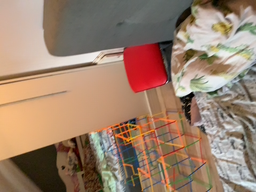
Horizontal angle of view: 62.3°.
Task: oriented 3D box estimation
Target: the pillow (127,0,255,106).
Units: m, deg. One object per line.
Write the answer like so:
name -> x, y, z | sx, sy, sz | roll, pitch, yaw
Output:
pillow -> 0.300, -0.180, 0.860 | 0.720, 0.270, 0.350 | -13, 91, 66
